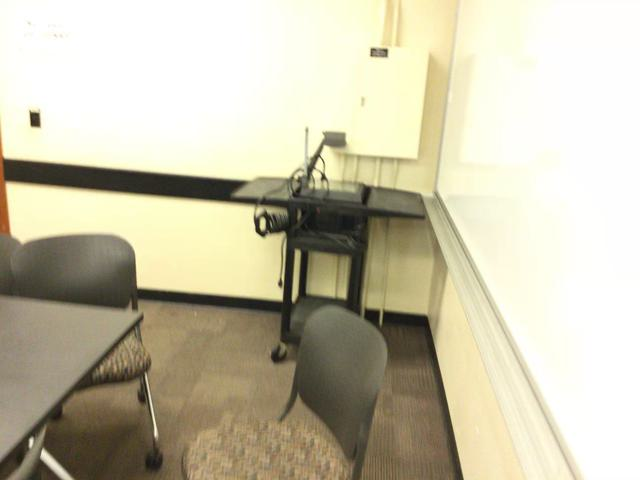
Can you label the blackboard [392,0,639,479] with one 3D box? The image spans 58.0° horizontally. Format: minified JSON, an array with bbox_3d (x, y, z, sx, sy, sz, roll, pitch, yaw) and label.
[{"bbox_3d":[0.390,0.040,0.480,0.330,1.540,6.110,7,12,4],"label":"blackboard"}]
